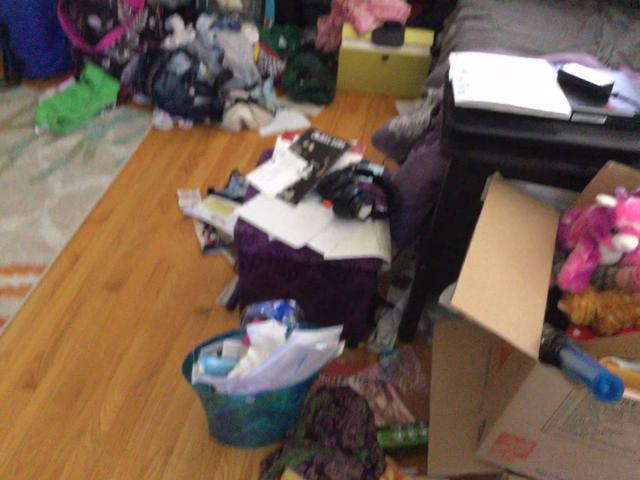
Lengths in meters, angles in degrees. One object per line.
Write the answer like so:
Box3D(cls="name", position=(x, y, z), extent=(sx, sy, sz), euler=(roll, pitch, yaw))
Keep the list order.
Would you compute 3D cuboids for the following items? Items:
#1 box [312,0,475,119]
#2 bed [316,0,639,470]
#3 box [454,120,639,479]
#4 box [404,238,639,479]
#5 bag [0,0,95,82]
Box3D(cls="box", position=(0.320, -0.830, 2.550), extent=(0.620, 0.350, 0.290), euler=(14, 44, 1))
Box3D(cls="bed", position=(0.850, -0.500, 1.990), extent=(1.220, 0.900, 2.160), euler=(14, 44, 1))
Box3D(cls="box", position=(0.620, 0.240, 1.070), extent=(0.580, 0.530, 0.650), euler=(14, 44, 1))
Box3D(cls="box", position=(0.470, 0.420, 1.270), extent=(0.460, 0.430, 0.650), euler=(14, 44, 1))
Box3D(cls="bag", position=(-1.220, -0.950, 2.420), extent=(0.390, 0.380, 0.300), euler=(14, 44, 1))
